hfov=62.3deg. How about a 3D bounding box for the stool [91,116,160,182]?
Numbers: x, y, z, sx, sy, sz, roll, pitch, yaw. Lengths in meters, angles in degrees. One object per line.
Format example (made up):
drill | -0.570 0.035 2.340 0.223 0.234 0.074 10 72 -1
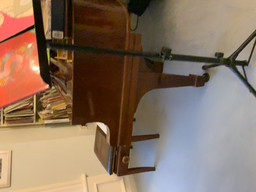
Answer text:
stool | -0.050 0.500 2.180 0.540 0.500 0.400 26 115 60
